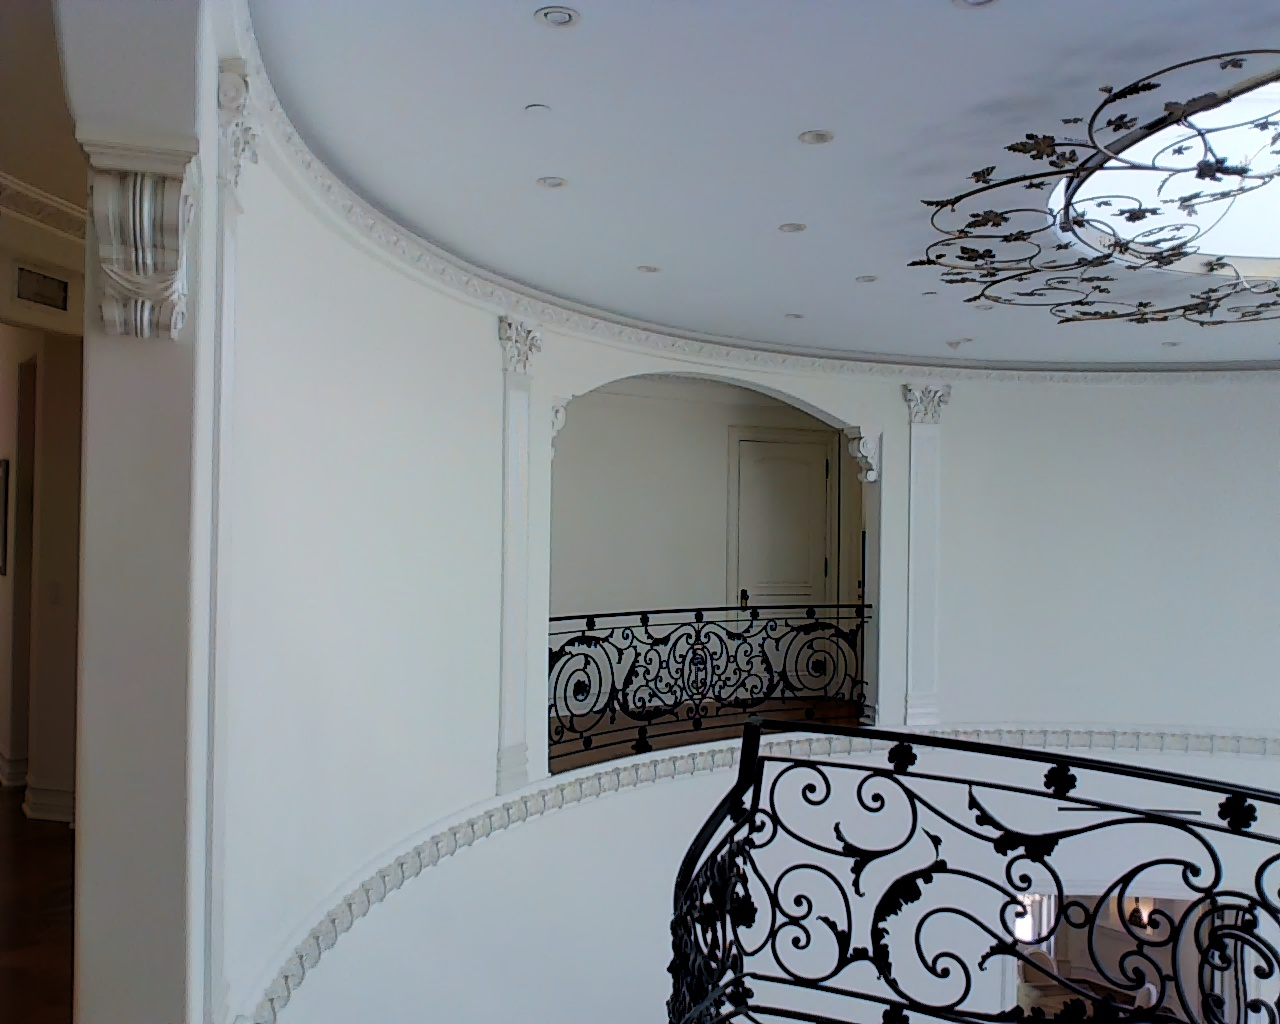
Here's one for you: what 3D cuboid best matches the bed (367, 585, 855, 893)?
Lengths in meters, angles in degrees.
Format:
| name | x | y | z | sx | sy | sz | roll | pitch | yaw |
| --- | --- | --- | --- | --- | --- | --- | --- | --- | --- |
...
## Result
| name | x | y | z | sx | sy | sz | roll | pitch | yaw |
| --- | --- | --- | --- | --- | --- | --- | --- | --- | --- |
| bed | -0.350 | 1.160 | 6.470 | 2.419 | 1.300 | 2.470 | 1 | -1 | -13 |
